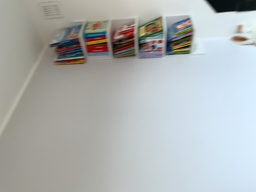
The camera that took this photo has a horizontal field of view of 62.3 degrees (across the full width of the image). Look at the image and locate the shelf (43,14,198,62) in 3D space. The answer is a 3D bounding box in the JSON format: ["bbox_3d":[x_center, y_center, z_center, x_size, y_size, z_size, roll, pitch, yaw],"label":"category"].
[{"bbox_3d":[-0.060,-0.480,1.780,0.240,1.180,0.250,83,-172,-48],"label":"shelf"}]
